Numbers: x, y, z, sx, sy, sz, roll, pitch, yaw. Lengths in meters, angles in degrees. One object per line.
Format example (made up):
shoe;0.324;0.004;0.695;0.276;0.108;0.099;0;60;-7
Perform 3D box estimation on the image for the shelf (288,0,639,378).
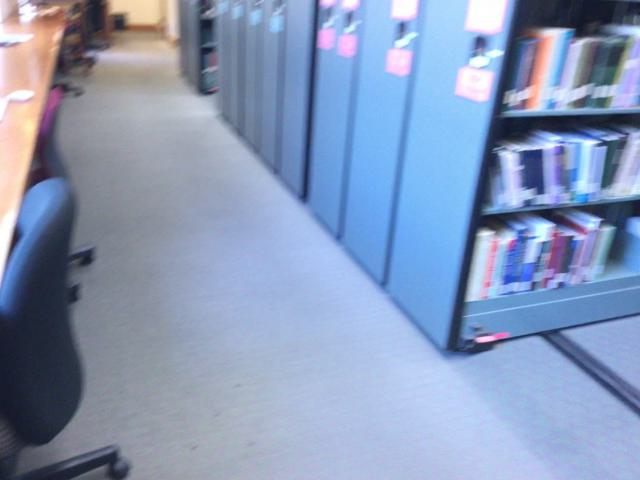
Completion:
shelf;0.960;-0.690;2.940;1.680;1.770;1.870;-3;22;-20
